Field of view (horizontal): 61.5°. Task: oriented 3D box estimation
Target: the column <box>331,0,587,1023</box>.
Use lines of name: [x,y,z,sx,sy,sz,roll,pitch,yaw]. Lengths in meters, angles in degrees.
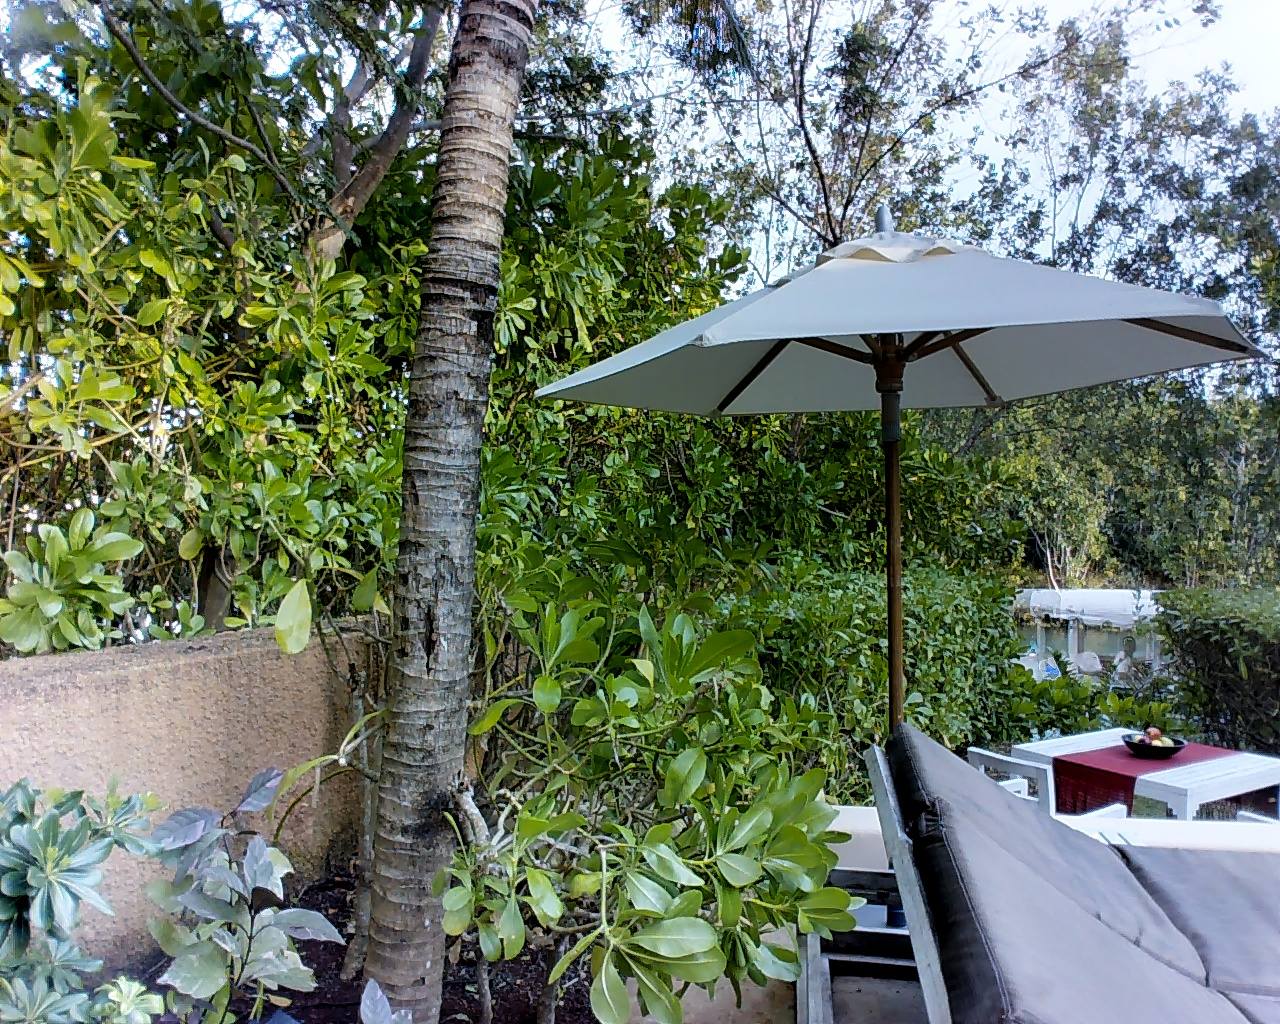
column: [-0.420,-0.650,2.640,0.500,4.031,0.420,1,1,7]
